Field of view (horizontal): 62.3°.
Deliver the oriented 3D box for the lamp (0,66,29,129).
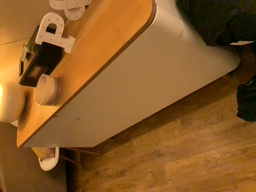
[{"bbox_3d":[-0.930,0.000,1.340,0.310,0.480,0.290,-36,56,39],"label":"lamp"}]
